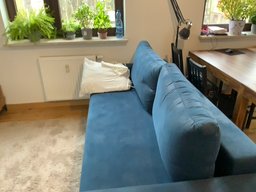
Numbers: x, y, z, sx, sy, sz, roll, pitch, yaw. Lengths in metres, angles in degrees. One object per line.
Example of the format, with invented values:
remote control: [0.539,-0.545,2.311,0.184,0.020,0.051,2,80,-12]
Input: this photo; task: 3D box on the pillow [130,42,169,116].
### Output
pillow: [0.190,-0.250,2.340,0.220,0.480,1.010,-3,26,-5]

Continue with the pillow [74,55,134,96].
pillow: [-0.290,-0.270,2.660,0.670,0.340,0.460,-3,26,-7]

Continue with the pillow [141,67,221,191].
pillow: [0.290,0.160,1.520,0.230,0.480,0.880,-3,26,-6]
